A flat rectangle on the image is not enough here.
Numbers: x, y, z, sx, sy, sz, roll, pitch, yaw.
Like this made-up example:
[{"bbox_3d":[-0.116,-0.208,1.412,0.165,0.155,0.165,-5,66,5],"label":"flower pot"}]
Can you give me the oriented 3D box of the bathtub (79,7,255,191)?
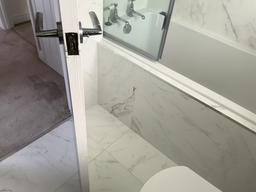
[{"bbox_3d":[0.470,0.010,1.460,1.610,0.570,0.690,34,49,26],"label":"bathtub"}]
